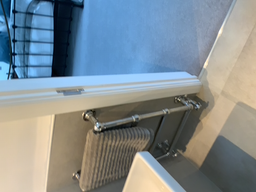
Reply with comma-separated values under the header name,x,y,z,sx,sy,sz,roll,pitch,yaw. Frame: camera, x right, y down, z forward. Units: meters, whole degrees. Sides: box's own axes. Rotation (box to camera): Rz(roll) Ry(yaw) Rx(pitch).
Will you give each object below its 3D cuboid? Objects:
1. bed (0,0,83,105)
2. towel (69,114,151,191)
name,x,y,z,sx,sy,sz,roll,pitch,yaw
bed,-1.690,-1.180,3.530,2.180,0.760,1.640,43,128,39
towel,-0.110,0.350,1.140,0.160,0.310,0.460,44,128,38
